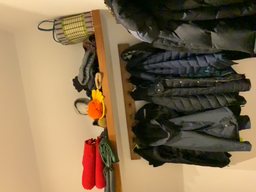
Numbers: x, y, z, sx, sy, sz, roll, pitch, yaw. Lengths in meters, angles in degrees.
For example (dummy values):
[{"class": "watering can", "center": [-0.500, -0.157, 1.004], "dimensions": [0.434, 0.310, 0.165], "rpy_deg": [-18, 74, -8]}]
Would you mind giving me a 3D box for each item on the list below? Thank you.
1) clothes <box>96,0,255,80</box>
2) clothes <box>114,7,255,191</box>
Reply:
[{"class": "clothes", "center": [0.410, -0.370, 1.050], "dimensions": [1.170, 0.930, 0.380], "rpy_deg": [-75, -22, -81]}, {"class": "clothes", "center": [0.470, 0.070, 1.650], "dimensions": [0.300, 0.970, 1.270], "rpy_deg": [-77, -19, -79]}]
